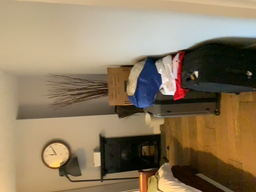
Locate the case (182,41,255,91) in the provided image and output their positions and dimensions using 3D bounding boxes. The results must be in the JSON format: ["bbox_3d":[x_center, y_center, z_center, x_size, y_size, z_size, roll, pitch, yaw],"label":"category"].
[{"bbox_3d":[0.840,-0.230,1.820,0.430,0.580,0.360,180,88,-75],"label":"case"}]
